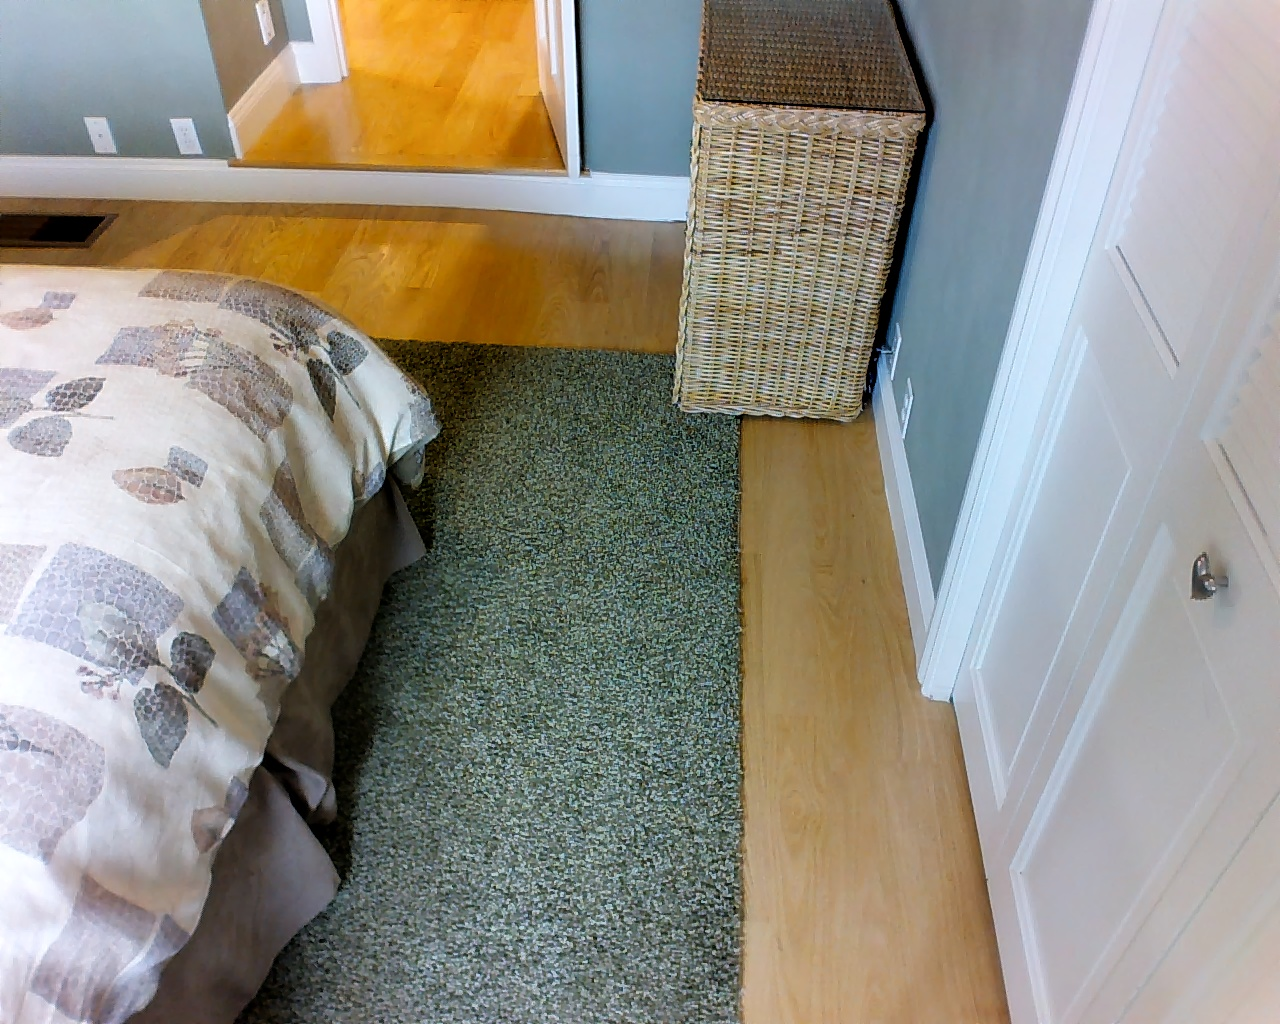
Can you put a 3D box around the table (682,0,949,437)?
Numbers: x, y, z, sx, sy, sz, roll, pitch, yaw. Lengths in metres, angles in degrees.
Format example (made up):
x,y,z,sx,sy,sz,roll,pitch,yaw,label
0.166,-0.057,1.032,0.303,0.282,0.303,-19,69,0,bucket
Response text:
x,y,z,sx,sy,sz,roll,pitch,yaw,label
0.390,-0.830,2.760,0.500,0.790,1.020,3,43,3,table
